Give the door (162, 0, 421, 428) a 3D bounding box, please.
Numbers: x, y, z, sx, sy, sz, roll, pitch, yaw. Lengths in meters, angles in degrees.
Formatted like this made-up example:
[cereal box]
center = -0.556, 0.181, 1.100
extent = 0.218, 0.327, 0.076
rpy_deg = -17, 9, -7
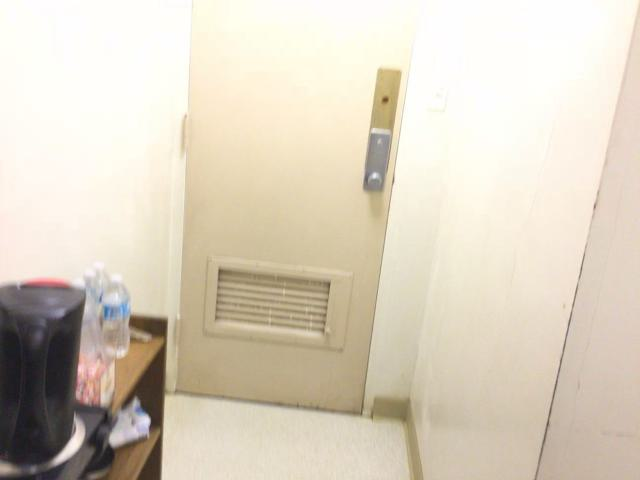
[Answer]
[door]
center = -0.150, -0.140, 2.240
extent = 0.860, 1.780, 0.100
rpy_deg = 6, 14, 2
